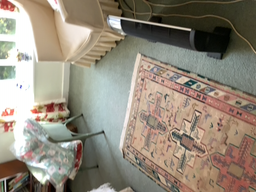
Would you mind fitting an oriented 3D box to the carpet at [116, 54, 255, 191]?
[{"bbox_3d":[0.420,0.360,1.460,1.370,0.010,0.990,29,117,41],"label":"carpet"}]
